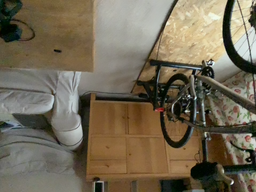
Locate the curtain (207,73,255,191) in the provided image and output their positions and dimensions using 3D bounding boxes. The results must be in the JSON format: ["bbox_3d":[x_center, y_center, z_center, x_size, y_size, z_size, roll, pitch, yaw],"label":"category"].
[{"bbox_3d":[1.090,1.060,1.650,0.250,2.610,0.460,1,153,-7],"label":"curtain"}]
